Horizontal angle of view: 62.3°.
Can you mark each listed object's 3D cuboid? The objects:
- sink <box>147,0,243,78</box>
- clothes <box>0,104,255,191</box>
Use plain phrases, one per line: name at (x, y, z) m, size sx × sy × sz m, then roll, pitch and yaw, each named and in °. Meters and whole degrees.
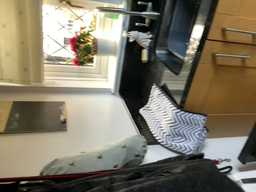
sink at (0.320, -0.390, 1.130) m, size 0.390 × 0.230 × 0.450 m, roll -118°, pitch 33°, yaw -55°
clothes at (-0.040, 0.260, 0.650) m, size 0.300 × 0.910 × 0.360 m, roll -117°, pitch 32°, yaw -54°
